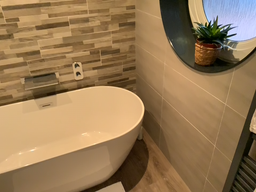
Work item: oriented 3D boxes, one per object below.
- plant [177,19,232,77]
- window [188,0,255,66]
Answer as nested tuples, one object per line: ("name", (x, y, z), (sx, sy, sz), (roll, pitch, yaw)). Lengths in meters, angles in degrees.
("plant", (0.460, -0.300, 1.310), (0.220, 0.280, 0.170), (-12, 34, -16))
("window", (0.610, -0.620, 1.140), (0.080, 0.770, 0.690), (-13, 34, -18))
